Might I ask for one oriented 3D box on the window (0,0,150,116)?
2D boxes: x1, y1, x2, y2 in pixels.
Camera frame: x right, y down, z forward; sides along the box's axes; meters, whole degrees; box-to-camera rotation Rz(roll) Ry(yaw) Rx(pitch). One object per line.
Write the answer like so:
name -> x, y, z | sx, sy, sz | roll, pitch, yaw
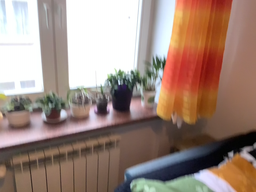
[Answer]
window -> -0.450, -0.640, 1.290 | 1.420, 1.490, 0.110 | -9, 24, -33
